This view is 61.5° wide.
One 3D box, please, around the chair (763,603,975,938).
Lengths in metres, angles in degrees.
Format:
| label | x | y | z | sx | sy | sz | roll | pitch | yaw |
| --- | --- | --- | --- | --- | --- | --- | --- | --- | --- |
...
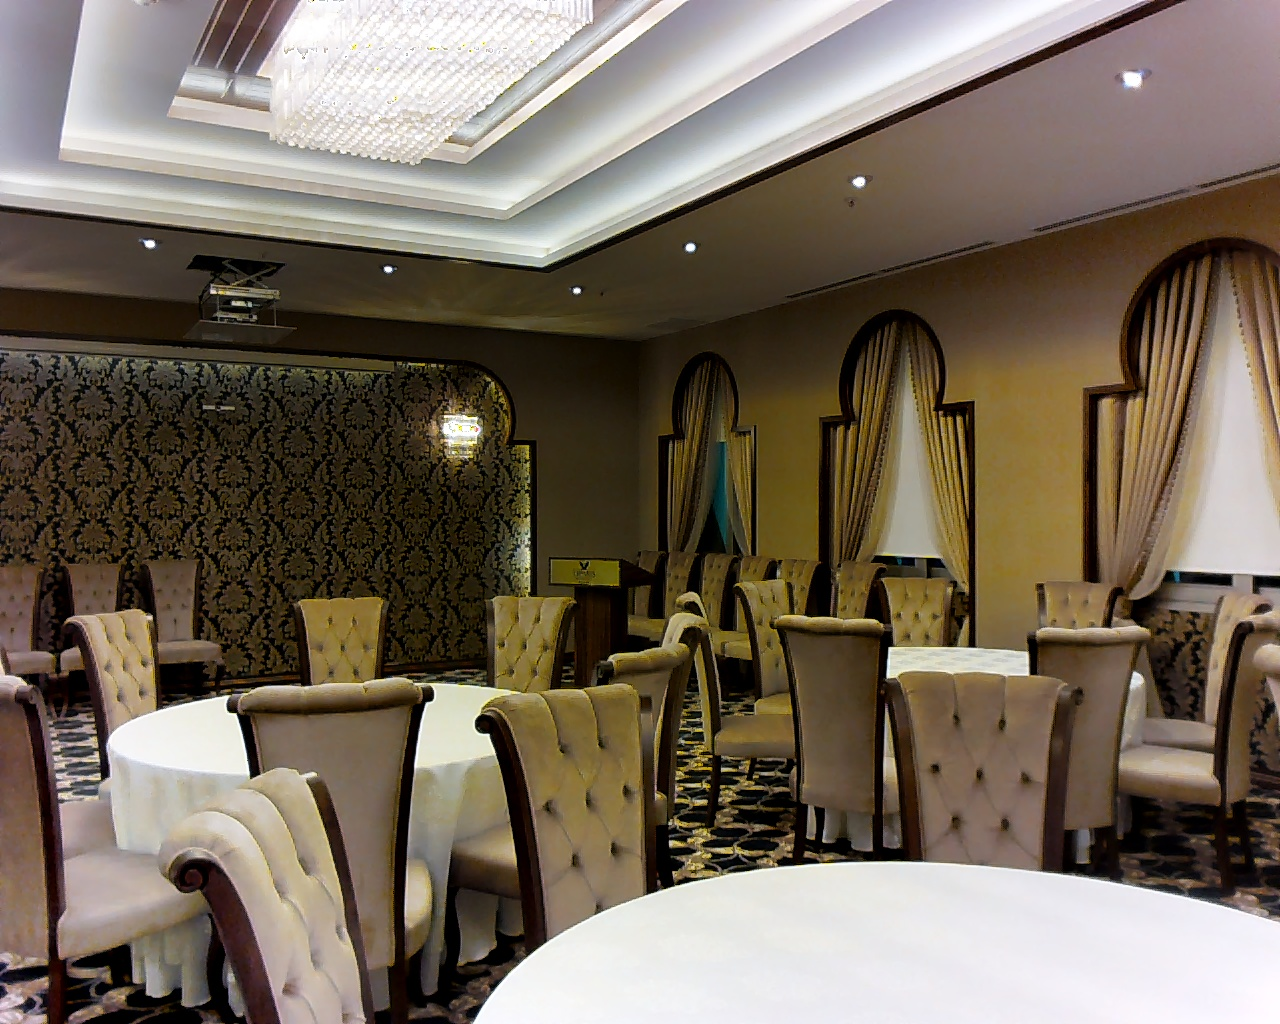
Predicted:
| label | x | y | z | sx | sy | sz | roll | pitch | yaw |
| --- | --- | --- | --- | --- | --- | --- | --- | --- | --- |
| chair | 0.960 | 0.990 | 4.440 | 0.630 | 1.151 | 0.750 | 0 | 0 | 33 |

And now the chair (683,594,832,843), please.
| label | x | y | z | sx | sy | sz | roll | pitch | yaw |
| --- | --- | --- | --- | --- | --- | --- | --- | --- | --- |
| chair | 0.600 | 0.990 | 5.370 | 0.660 | 1.100 | 0.590 | 0 | 0 | 15 |

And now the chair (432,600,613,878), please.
| label | x | y | z | sx | sy | sz | roll | pitch | yaw |
| --- | --- | --- | --- | --- | --- | --- | --- | --- | --- |
| chair | -0.520 | 0.990 | 4.960 | 0.600 | 1.100 | 0.740 | 0 | 0 | 15 |

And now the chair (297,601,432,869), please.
| label | x | y | z | sx | sy | sz | roll | pitch | yaw |
| --- | --- | --- | --- | --- | --- | --- | --- | --- | --- |
| chair | -1.259 | 0.990 | 5.000 | 0.560 | 1.090 | 0.660 | 0 | 0 | -10 |

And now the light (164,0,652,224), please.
| label | x | y | z | sx | sy | sz | roll | pitch | yaw |
| --- | --- | --- | --- | --- | --- | --- | --- | --- | --- |
| light | -0.910 | -1.871 | 4.640 | 2.079 | 0.940 | 0.240 | -1 | 0 | -30 |

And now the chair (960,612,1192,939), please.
| label | x | y | z | sx | sy | sz | roll | pitch | yaw |
| --- | --- | --- | --- | --- | --- | --- | --- | --- | --- |
| chair | 1.659 | 0.970 | 4.190 | 0.590 | 1.090 | 0.730 | 0 | 0 | -2 |

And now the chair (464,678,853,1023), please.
| label | x | y | z | sx | sy | sz | roll | pitch | yaw |
| --- | --- | --- | --- | --- | --- | --- | --- | --- | --- |
| chair | 0.030 | 0.980 | 2.350 | 0.580 | 1.100 | 0.630 | 0 | 0 | -40 |

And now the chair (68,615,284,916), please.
| label | x | y | z | sx | sy | sz | roll | pitch | yaw |
| --- | --- | --- | --- | --- | --- | --- | --- | --- | --- |
| chair | -1.909 | 1.000 | 4.460 | 0.610 | 1.080 | 0.550 | 0 | 0 | 19 |

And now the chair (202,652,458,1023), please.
| label | x | y | z | sx | sy | sz | roll | pitch | yaw |
| --- | --- | --- | --- | --- | --- | --- | --- | --- | --- |
| chair | -0.800 | 0.990 | 2.930 | 0.570 | 1.120 | 0.690 | 0 | 0 | -7 |

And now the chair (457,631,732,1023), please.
| label | x | y | z | sx | sy | sz | roll | pitch | yaw |
| --- | --- | --- | --- | --- | --- | --- | --- | --- | --- |
| chair | -0.130 | 0.960 | 3.490 | 0.660 | 1.050 | 0.640 | 0 | 0 | 28 |

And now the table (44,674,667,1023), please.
| label | x | y | z | sx | sy | sz | roll | pitch | yaw |
| --- | --- | --- | --- | --- | --- | --- | --- | --- | --- |
| table | -1.020 | 1.131 | 4.000 | 1.620 | 0.720 | 1.580 | 0 | 0 | 37 |

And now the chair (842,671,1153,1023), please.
| label | x | y | z | sx | sy | sz | roll | pitch | yaw |
| --- | --- | --- | --- | --- | --- | --- | --- | --- | --- |
| chair | 0.810 | 0.970 | 2.530 | 0.610 | 1.080 | 0.640 | 0 | 0 | 15 |
